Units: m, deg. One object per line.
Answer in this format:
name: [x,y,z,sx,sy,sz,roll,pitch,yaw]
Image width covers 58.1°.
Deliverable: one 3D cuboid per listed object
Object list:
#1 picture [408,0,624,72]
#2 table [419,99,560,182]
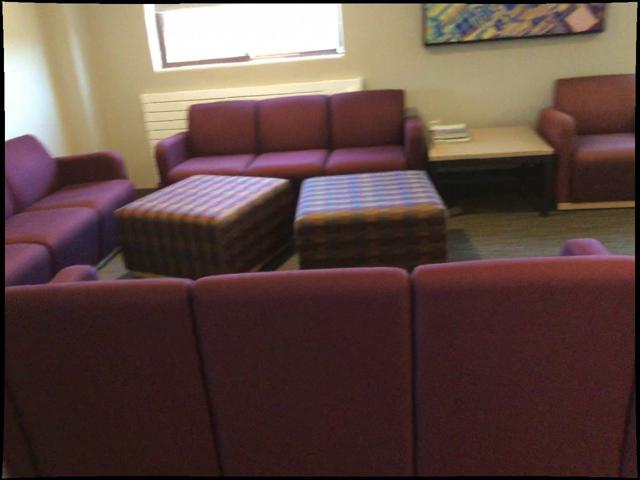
picture: [1.347,-1.584,4.040,1.426,0.651,0.150,-3,23,8]
table: [1.107,-0.692,3.930,0.808,0.351,0.690,-2,23,7]
